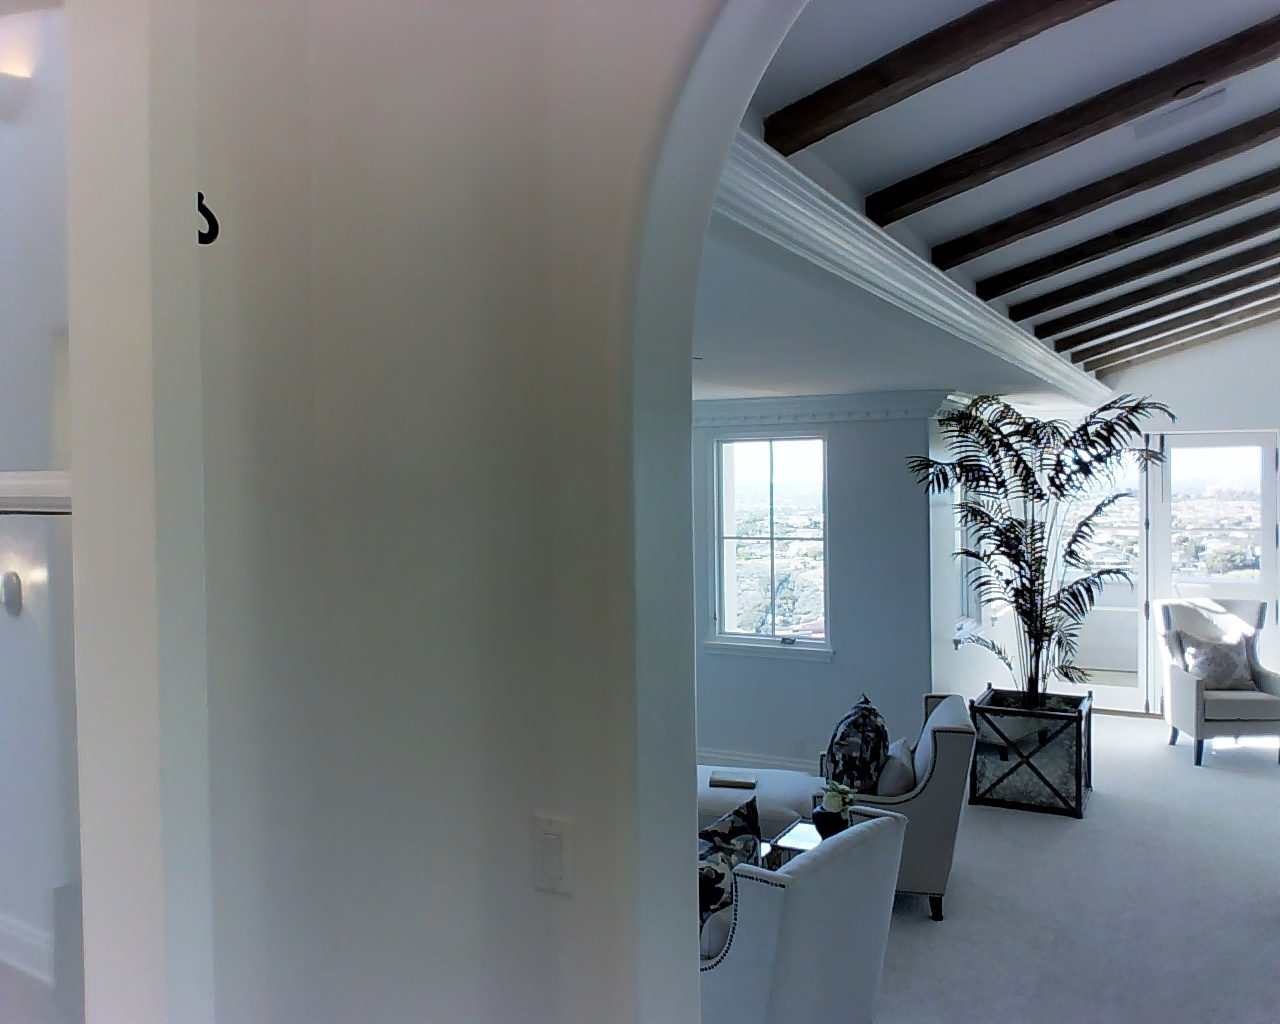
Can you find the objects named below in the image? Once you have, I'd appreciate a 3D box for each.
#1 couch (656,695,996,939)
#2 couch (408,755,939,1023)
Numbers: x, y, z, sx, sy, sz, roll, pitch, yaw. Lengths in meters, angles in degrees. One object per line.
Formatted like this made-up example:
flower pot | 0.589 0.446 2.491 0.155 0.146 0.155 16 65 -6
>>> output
couch | 0.980 1.550 5.690 1.630 0.950 0.890 -1 2 12
couch | 0.150 1.601 4.040 1.670 0.950 1.100 0 2 29
